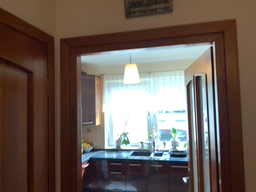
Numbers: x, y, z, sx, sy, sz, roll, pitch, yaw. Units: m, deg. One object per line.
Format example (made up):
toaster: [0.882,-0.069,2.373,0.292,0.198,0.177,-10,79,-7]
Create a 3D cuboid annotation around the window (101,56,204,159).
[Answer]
window: [0.410,0.230,4.020,1.880,1.790,0.180,-2,-3,15]
